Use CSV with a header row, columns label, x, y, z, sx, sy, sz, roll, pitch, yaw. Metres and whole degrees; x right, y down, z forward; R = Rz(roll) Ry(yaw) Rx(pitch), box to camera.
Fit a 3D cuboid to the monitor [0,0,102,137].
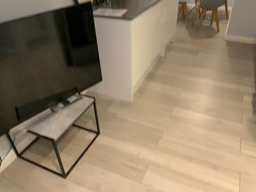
label,x,y,z,sx,sy,sz,roll,pitch,yaw
monitor,-0.580,-0.200,1.400,0.080,0.630,1.010,25,43,30
